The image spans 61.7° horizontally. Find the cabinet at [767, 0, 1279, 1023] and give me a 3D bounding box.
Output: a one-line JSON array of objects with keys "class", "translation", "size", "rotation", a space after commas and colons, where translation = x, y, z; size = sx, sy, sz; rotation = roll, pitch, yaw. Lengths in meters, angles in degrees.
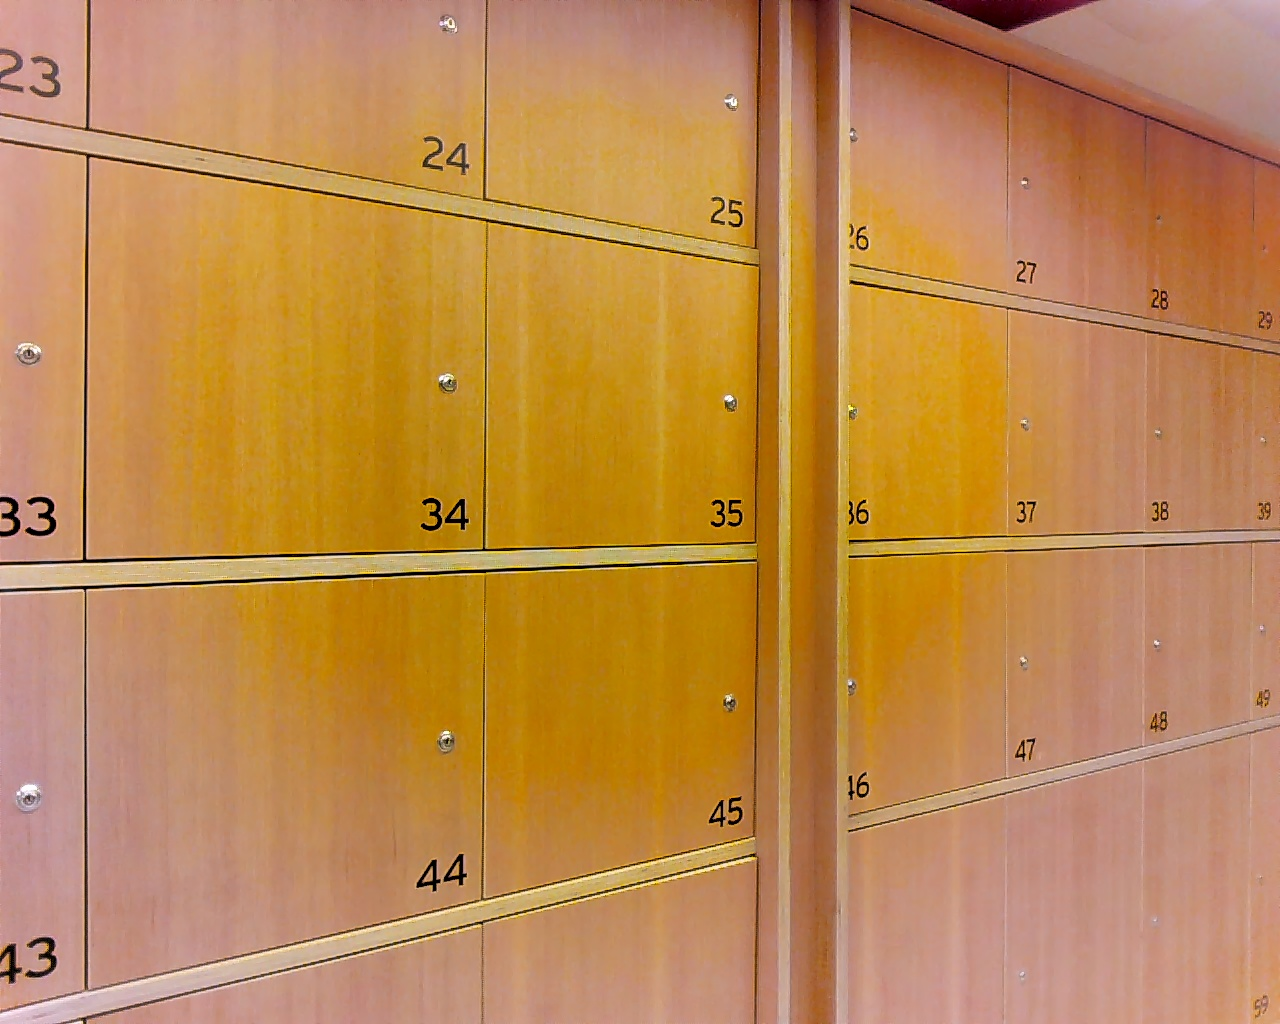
[{"class": "cabinet", "translation": [1.280, 0.240, 2.460], "size": [2.550, 2.381, 0.140], "rotation": [0, 0, -36]}]
